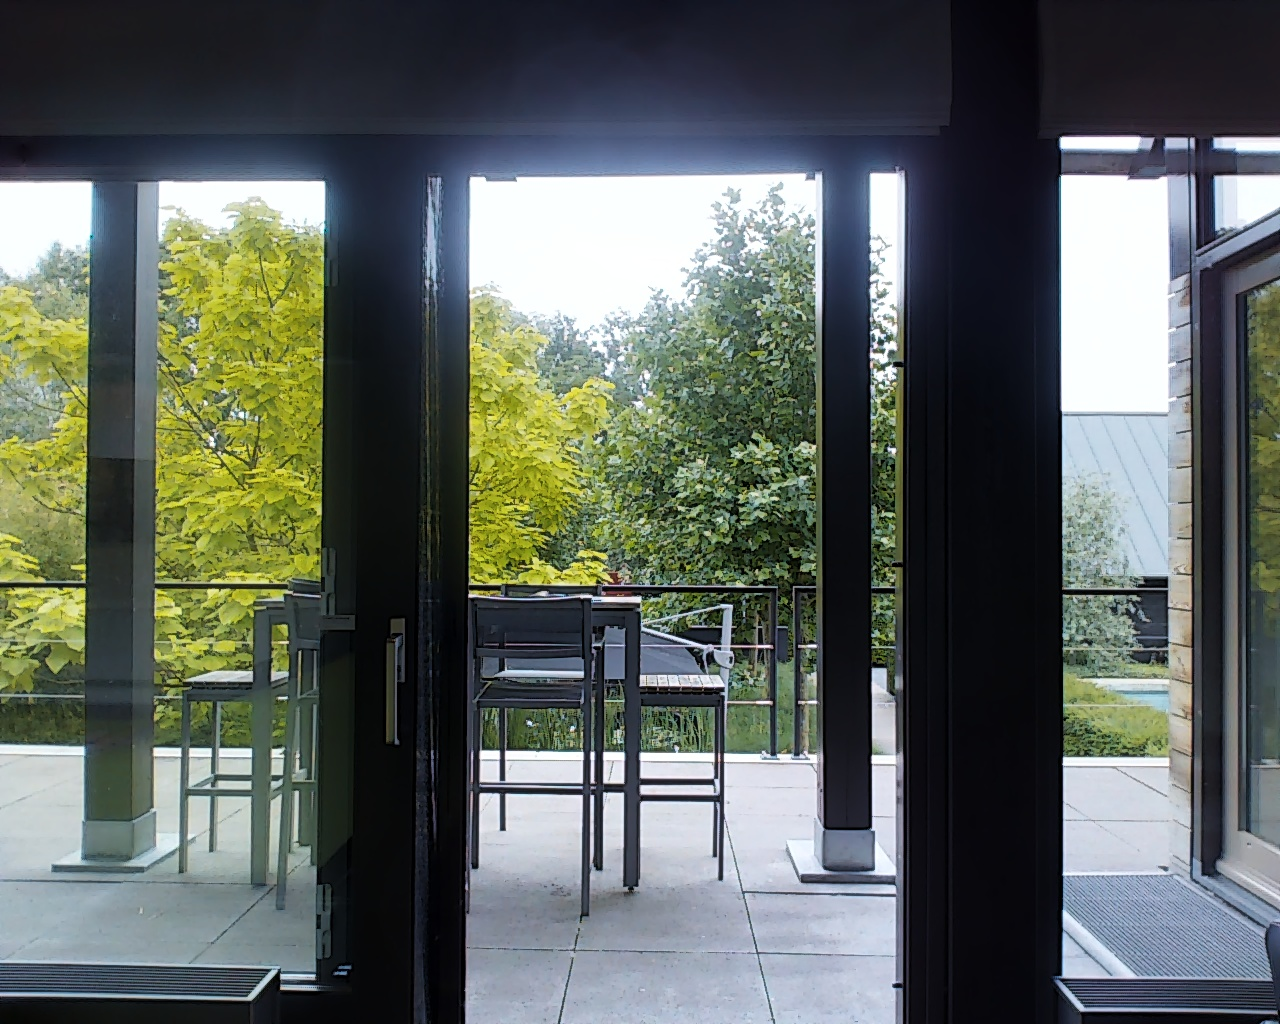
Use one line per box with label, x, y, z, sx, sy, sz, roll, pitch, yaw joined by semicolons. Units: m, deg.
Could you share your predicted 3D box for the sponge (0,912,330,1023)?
sponge;-1.400;1.160;2.410;1.300;0.390;0.370;0;-1;2
